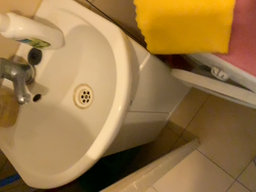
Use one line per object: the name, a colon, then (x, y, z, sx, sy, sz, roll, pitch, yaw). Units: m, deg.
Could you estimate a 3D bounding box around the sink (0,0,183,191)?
sink: (-0.140, 0.020, 0.510, 0.320, 0.160, 0.420, 39, 102, 24)
